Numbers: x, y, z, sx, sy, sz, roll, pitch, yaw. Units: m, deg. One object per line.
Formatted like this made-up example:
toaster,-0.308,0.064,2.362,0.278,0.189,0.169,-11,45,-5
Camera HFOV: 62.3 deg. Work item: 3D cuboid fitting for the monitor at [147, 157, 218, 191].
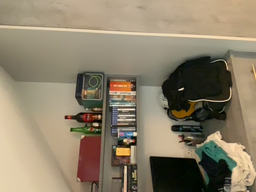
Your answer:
monitor,0.350,0.590,1.280,0.540,0.400,0.030,-95,9,-58

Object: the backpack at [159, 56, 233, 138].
backpack,0.410,0.040,1.430,0.480,0.280,0.410,105,166,-70
